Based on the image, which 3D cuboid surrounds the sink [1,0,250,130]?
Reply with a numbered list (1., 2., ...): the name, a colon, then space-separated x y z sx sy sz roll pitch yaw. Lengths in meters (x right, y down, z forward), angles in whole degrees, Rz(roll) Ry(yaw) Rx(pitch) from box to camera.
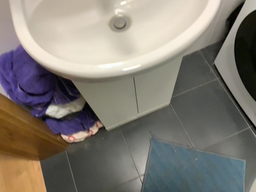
1. sink: -0.040 -0.210 0.590 0.480 0.210 0.410 -23 68 -5
